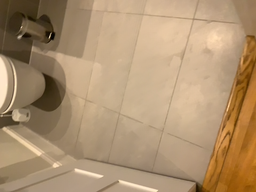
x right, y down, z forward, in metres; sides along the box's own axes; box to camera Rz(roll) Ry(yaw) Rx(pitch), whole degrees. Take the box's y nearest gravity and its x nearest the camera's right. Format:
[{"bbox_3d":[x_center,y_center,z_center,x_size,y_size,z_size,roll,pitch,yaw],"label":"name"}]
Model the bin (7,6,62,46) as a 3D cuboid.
[{"bbox_3d":[-0.700,-0.520,1.600,0.200,0.290,0.190,22,101,31],"label":"bin"}]
